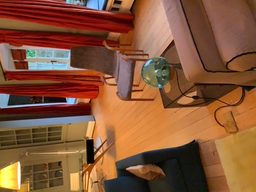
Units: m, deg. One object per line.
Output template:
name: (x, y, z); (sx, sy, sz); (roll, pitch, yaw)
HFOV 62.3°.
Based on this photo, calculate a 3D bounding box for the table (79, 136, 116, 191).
table: (-0.710, 2.250, 4.900); (0.850, 0.600, 2.460); (180, 88, -67)

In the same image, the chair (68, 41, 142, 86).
chair: (-0.420, -0.550, 3.490); (0.850, 0.980, 0.490); (-135, 48, -58)

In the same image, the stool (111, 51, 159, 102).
stool: (0.080, -0.290, 3.030); (0.490, 0.450, 0.600); (-135, 48, -58)
